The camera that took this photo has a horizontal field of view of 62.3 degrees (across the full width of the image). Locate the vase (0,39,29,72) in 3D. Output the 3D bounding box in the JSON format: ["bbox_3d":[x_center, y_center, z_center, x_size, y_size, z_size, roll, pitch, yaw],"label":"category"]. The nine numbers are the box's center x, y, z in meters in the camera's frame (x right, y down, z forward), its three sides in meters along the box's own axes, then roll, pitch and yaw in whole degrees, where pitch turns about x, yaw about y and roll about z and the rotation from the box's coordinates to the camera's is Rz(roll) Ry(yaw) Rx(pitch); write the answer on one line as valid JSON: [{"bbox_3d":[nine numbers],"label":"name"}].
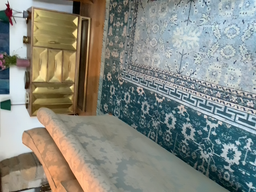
[{"bbox_3d":[-1.620,-0.560,2.950,0.150,0.400,0.410,21,108,54],"label":"vase"}]

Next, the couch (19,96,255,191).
[{"bbox_3d":[-0.220,0.910,1.740,2.310,0.930,1.290,24,110,54],"label":"couch"}]
